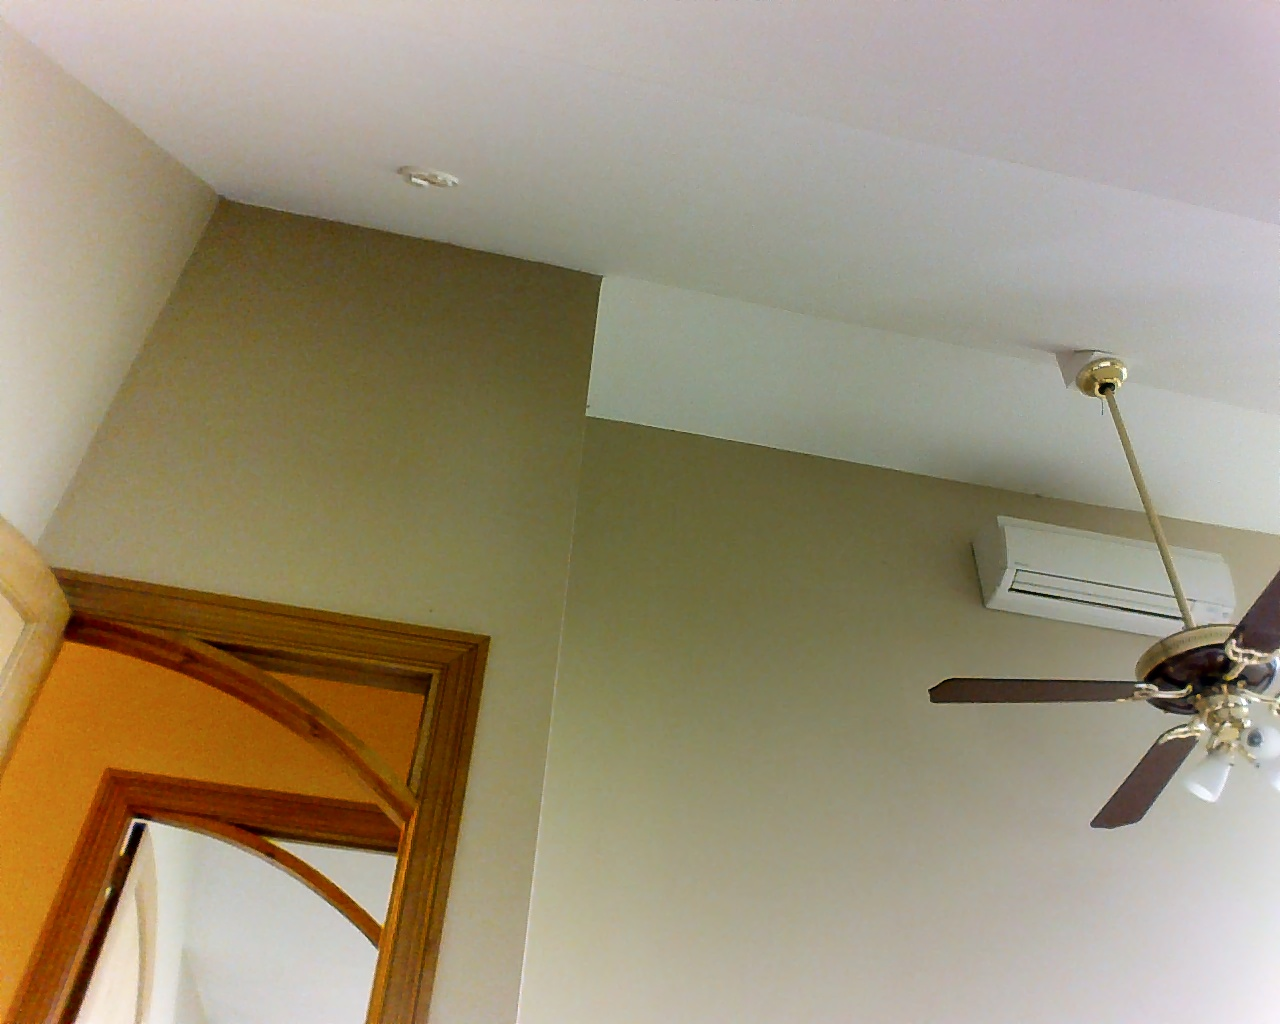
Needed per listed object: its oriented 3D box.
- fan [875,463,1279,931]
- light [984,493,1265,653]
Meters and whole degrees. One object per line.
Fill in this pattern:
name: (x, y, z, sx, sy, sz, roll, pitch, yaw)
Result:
fan: (1.279, 0.460, 2.370, 1.090, 0.370, 1.130, -22, -47, 27)
light: (1.569, 0.200, 3.530, 0.780, 0.350, 0.210, 9, -41, -6)
